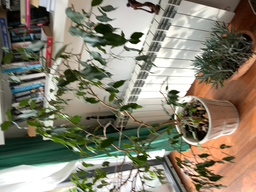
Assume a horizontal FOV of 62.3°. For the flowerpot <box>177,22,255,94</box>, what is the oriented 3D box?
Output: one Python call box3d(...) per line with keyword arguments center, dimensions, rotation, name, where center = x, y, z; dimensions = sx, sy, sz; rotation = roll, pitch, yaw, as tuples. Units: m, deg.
box3d(center=(0.640, -0.250, 1.510), dimensions=(0.230, 0.360, 0.420), rotation=(65, 145, 39), name="flowerpot")
